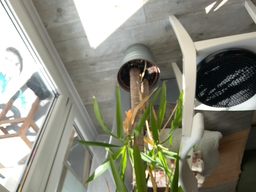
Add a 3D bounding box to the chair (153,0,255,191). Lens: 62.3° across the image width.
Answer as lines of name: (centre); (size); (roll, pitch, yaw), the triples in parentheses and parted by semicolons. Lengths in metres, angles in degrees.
chair: (0.440, -0.070, 1.040); (0.540, 0.890, 0.450); (-5, 131, 5)
